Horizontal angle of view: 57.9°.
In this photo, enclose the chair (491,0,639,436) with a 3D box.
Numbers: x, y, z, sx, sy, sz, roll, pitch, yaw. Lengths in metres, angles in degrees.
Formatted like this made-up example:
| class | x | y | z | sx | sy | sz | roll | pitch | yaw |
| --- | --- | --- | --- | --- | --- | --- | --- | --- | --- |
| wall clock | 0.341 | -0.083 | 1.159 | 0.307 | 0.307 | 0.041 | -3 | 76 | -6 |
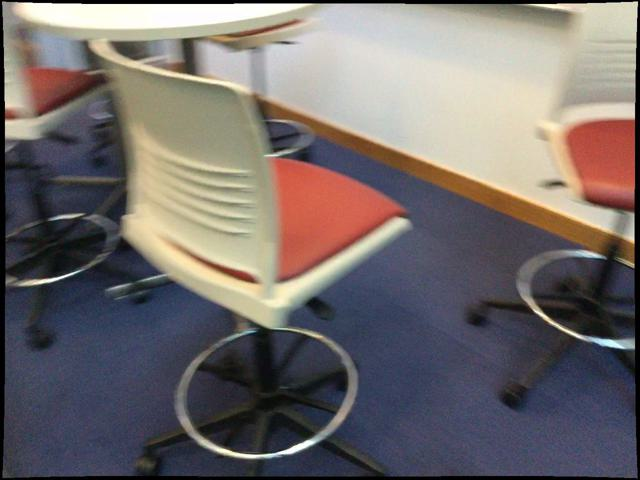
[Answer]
| class | x | y | z | sx | sy | sz | roll | pitch | yaw |
| --- | --- | --- | --- | --- | --- | --- | --- | --- | --- |
| chair | 0.839 | -0.080 | 1.570 | 0.529 | 1.121 | 0.590 | 4 | 35 | 9 |
